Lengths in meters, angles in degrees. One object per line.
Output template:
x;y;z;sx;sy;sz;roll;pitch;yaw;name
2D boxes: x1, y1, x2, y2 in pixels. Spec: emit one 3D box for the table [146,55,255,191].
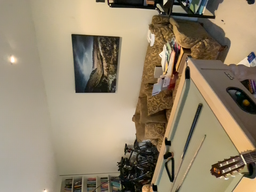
0.850;0.850;2.140;1.240;0.780;2.120;-101;16;-52;table
